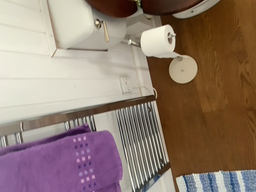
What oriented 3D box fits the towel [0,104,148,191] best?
[{"bbox_3d":[-0.170,0.270,0.620,0.180,0.500,0.360,-12,96,34],"label":"towel"}]
